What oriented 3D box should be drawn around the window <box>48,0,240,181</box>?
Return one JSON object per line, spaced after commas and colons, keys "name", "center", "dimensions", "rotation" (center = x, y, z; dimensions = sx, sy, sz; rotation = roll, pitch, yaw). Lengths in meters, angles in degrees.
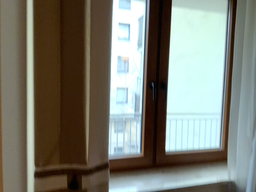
{"name": "window", "center": [0.140, -0.220, 1.530], "dimensions": [1.330, 1.540, 0.170], "rotation": [1, 4, -13]}
